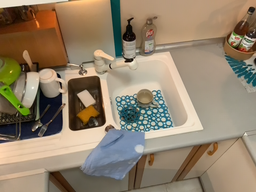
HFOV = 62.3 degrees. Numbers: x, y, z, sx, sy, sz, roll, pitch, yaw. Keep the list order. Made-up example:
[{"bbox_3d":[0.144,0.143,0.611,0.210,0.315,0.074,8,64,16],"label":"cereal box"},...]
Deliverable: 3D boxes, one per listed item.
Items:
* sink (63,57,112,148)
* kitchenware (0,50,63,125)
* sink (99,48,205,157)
[{"bbox_3d":[-0.220,0.020,1.130,0.200,0.180,0.440,-8,55,-7],"label":"sink"},{"bbox_3d":[-0.550,-0.030,0.940,0.450,0.190,0.250,-5,55,-5],"label":"kitchenware"},{"bbox_3d":[0.090,0.010,1.150,0.420,0.190,0.520,-8,55,-7],"label":"sink"}]
